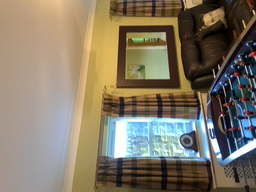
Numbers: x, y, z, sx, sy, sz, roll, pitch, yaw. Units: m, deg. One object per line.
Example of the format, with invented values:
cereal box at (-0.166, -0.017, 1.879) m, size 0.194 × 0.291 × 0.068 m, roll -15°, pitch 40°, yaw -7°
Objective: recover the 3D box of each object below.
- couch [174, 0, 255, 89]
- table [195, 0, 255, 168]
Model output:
couch at (1.280, -1.050, 2.980) m, size 0.970 × 0.940 × 1.630 m, roll 90°, pitch -179°, yaw -62°
table at (1.260, 0.000, 1.750) m, size 1.640 × 0.840 × 0.860 m, roll 89°, pitch -179°, yaw -61°
